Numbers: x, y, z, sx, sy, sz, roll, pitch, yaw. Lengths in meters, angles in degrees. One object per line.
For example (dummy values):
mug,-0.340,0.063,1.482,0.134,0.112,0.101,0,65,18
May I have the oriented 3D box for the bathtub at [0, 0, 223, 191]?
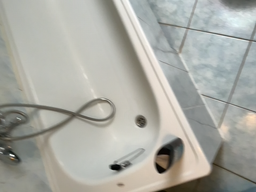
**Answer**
bathtub,-0.230,-0.380,1.210,0.680,0.550,1.740,-29,77,25
